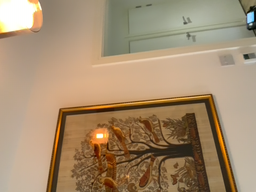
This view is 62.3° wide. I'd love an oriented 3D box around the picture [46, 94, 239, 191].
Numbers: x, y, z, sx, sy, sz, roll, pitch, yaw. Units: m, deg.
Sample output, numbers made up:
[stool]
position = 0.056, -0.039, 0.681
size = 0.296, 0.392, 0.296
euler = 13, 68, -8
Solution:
[picture]
position = 0.040, 0.340, 1.180
size = 0.020, 0.990, 0.700
euler = 72, -165, -59
